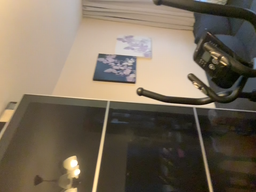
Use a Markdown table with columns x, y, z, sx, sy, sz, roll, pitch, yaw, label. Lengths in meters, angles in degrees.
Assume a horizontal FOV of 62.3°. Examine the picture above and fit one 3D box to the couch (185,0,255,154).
| x | y | z | sx | sy | sz | roll | pitch | yaw | label |
| --- | --- | --- | --- | --- | --- | --- | --- | --- | --- |
| 1.270 | -0.590 | 2.310 | 0.900 | 0.770 | 2.200 | 96 | 178 | -46 | couch |
